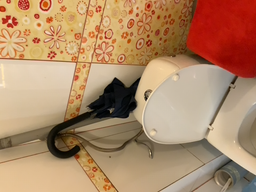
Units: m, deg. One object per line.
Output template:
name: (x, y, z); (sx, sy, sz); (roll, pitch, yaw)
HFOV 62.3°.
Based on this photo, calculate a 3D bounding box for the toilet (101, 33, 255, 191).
toilet: (0.440, 0.080, 0.880); (0.700, 0.780, 0.360); (38, 119, 37)
